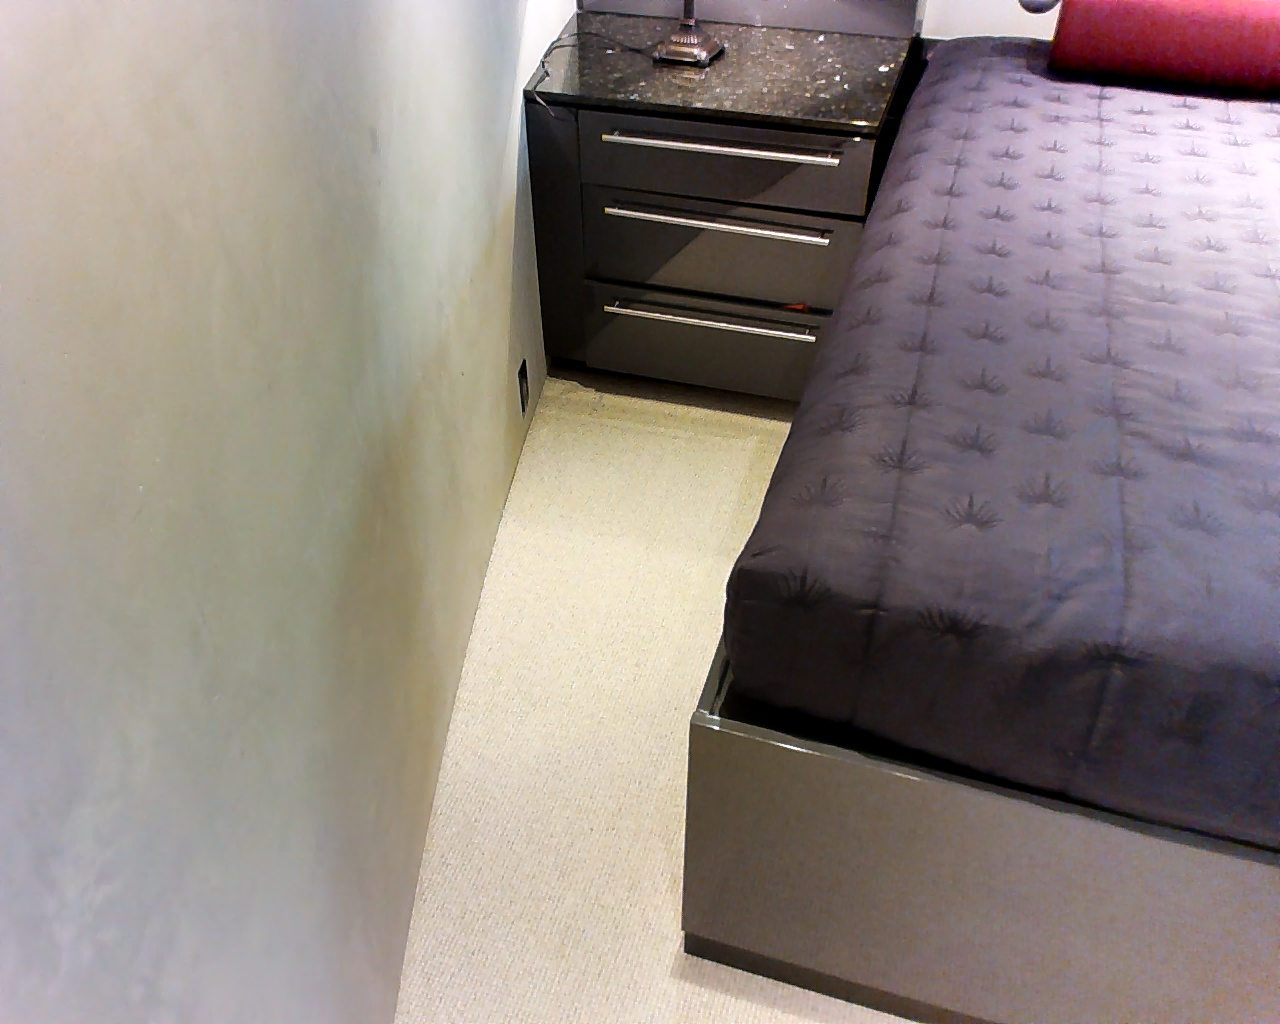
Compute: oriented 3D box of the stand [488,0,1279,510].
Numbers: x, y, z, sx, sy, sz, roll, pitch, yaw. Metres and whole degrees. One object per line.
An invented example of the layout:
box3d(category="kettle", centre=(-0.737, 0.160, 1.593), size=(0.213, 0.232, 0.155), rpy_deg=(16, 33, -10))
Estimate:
box3d(category="stand", centre=(1.230, -0.600, 2.500), size=(3.059, 0.850, 0.670), rpy_deg=(11, 42, 14))
